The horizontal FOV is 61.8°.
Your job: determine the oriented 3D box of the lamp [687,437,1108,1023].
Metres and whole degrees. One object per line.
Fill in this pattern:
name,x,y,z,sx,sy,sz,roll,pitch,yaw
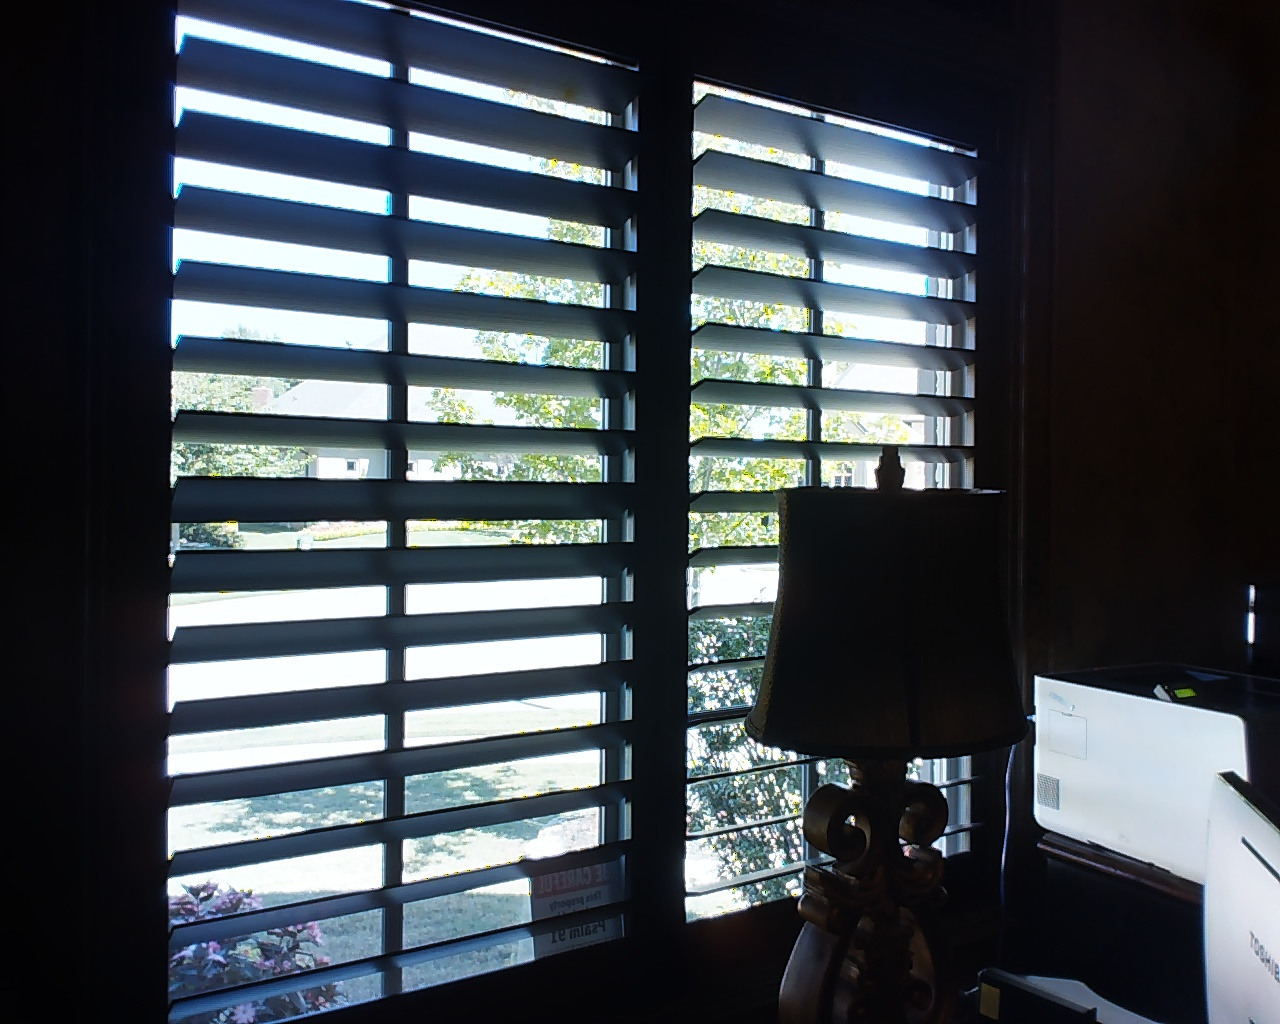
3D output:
lamp,0.300,0.310,1.260,0.380,0.760,0.290,1,0,-33
